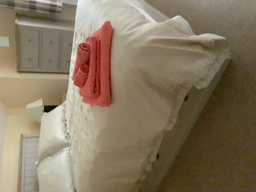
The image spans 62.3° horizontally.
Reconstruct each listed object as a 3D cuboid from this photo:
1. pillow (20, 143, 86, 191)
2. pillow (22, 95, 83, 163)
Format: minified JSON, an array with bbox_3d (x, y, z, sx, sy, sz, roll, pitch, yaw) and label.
[{"bbox_3d":[-0.700,0.860,2.040,0.730,0.400,0.180,44,161,37],"label":"pillow"},{"bbox_3d":[-0.940,0.370,2.600,0.750,0.420,0.190,43,160,37],"label":"pillow"}]
